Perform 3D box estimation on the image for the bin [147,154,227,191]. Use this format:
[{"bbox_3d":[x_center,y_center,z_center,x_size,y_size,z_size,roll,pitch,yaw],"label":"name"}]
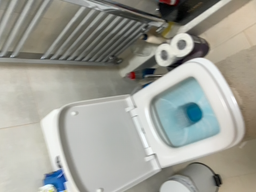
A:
[{"bbox_3d":[0.330,0.520,1.160,0.240,0.310,0.250,-38,70,37],"label":"bin"}]
